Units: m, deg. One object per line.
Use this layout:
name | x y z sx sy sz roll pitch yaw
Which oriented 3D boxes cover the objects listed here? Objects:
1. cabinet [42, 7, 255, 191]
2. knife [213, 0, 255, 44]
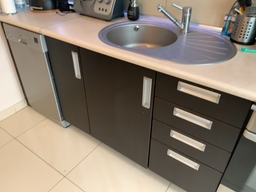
cabinet | 0.130 0.000 1.450 1.180 0.870 0.600 24 41 28
knife | 0.630 -0.400 1.080 0.300 0.200 0.150 25 42 30
